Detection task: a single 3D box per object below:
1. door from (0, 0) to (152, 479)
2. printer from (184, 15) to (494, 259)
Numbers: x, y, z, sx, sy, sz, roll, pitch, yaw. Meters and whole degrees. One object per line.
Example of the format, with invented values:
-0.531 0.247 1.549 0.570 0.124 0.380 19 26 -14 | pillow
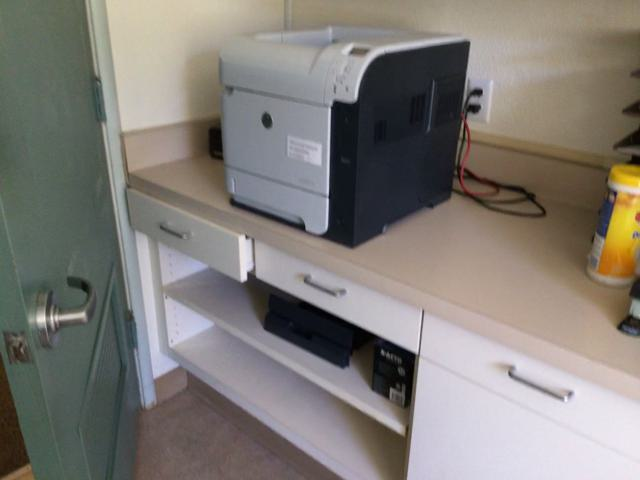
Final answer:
-0.510 -0.130 1.110 0.140 2.040 0.860 -5 27 -13 | door
0.040 -0.300 1.410 0.510 0.410 0.490 24 34 38 | printer
